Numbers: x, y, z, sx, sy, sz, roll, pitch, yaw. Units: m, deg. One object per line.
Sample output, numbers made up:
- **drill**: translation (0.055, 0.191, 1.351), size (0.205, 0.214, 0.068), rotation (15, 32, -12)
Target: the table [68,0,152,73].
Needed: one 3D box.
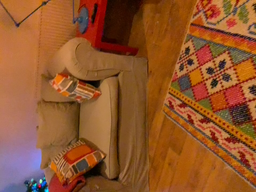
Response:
- **table**: translation (-0.230, -0.750, 2.160), size (0.790, 0.470, 0.810), rotation (36, 120, 52)
